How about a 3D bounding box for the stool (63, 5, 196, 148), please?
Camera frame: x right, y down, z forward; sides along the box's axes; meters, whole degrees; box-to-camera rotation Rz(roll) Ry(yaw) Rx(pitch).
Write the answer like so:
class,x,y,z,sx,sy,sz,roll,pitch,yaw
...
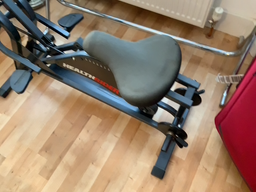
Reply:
class,x,y,z,sx,sy,sz,roll,pitch,yaw
stool,0.020,-0.040,0.920,0.340,0.520,0.280,25,66,15
